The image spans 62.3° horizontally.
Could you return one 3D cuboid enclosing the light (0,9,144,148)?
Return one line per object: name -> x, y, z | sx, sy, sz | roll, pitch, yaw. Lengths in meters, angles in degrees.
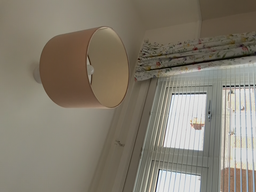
light -> -0.230, -0.100, 1.070 | 0.500, 0.500, 0.400 | 9, -35, 14
